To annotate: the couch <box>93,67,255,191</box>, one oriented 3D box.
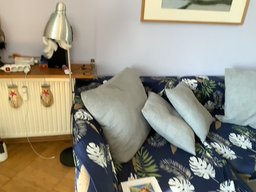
[{"bbox_3d":[0.960,0.290,1.990,2.450,0.800,1.020,-1,26,-14],"label":"couch"}]
